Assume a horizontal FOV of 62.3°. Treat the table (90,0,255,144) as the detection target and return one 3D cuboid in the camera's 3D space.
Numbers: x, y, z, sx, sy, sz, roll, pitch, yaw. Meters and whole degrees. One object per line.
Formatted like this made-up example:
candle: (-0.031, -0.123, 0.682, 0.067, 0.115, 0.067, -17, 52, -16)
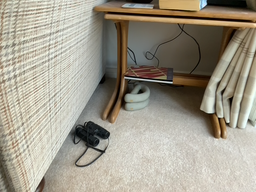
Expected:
table: (0.180, -0.170, 1.030, 0.570, 0.480, 0.570, 5, 29, 4)
